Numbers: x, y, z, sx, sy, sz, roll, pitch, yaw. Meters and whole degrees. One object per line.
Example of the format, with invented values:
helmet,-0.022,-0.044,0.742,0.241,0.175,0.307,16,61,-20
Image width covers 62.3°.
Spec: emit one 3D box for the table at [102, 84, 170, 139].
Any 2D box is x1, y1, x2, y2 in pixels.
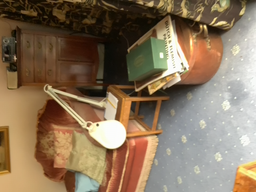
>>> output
table,0.050,0.100,1.710,0.330,0.390,0.300,41,126,52
